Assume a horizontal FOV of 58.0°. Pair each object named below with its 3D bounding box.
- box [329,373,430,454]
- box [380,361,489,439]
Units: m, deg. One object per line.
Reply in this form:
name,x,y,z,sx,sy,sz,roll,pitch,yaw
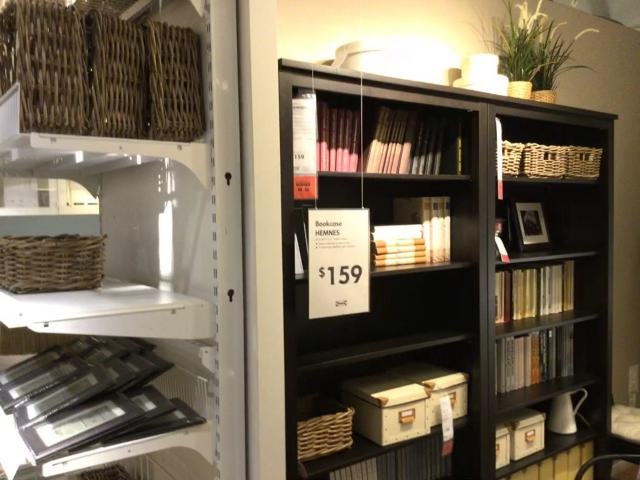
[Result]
box,0.200,0.590,2.010,0.230,0.170,0.270,-4,1,-28
box,0.410,0.570,2.110,0.230,0.170,0.320,-4,1,-28
